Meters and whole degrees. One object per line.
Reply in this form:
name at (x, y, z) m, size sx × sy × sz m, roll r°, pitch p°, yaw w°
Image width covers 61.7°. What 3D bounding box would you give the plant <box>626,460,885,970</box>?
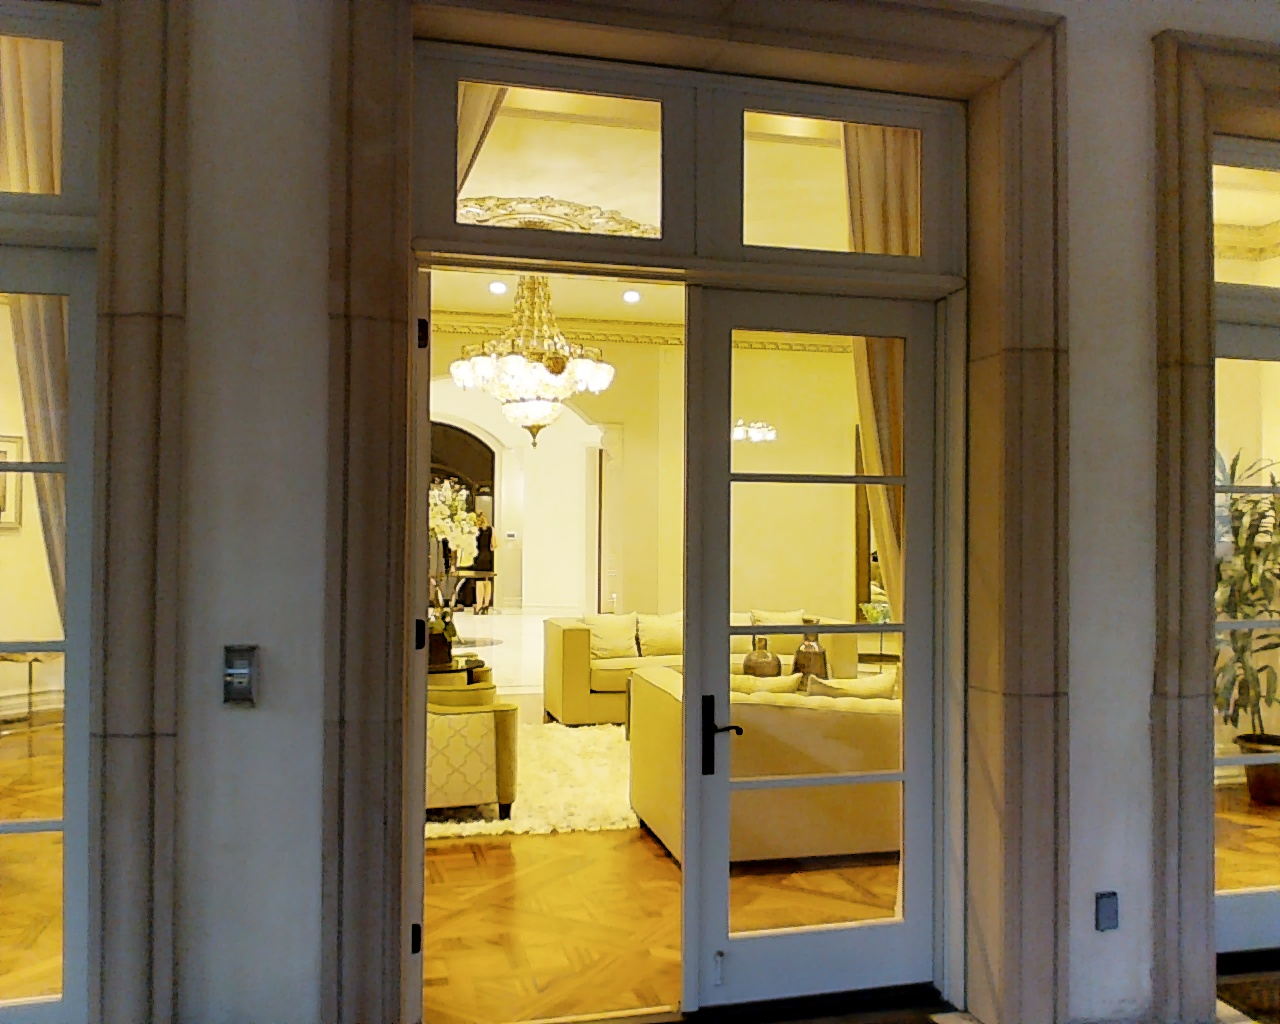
plant at (0.500, 0.850, 5.080) m, size 0.910 × 2.121 × 1.050 m, roll 0°, pitch -1°, yaw -14°
